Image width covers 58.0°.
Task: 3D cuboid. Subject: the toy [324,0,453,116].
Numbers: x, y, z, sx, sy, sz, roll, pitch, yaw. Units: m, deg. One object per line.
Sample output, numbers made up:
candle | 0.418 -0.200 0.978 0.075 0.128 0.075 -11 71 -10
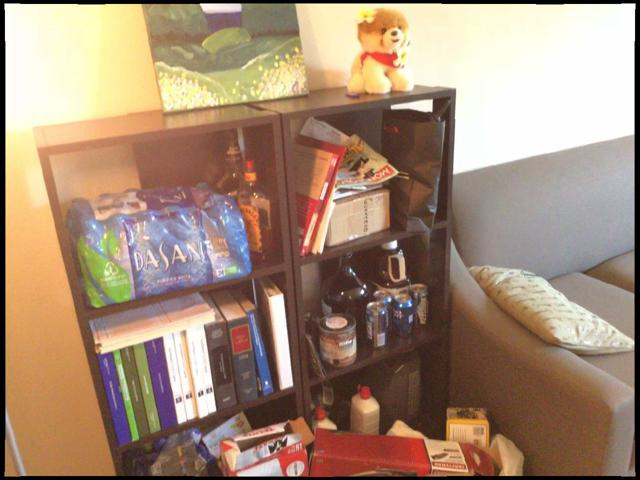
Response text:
toy | 0.190 -0.521 1.590 0.260 0.260 0.220 -20 31 -24

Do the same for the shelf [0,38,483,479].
shelf | -0.170 0.210 1.730 1.198 1.332 0.500 -20 31 -24
